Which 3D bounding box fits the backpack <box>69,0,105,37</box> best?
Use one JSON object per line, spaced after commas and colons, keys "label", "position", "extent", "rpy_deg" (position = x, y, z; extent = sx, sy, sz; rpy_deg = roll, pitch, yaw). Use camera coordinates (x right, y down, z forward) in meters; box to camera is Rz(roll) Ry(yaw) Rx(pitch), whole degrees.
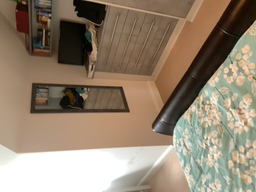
{"label": "backpack", "position": [-0.470, -0.980, 2.330], "extent": [0.410, 0.280, 0.480], "rpy_deg": [116, 149, -46]}
